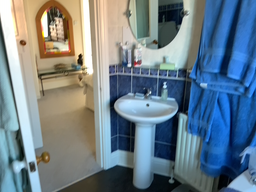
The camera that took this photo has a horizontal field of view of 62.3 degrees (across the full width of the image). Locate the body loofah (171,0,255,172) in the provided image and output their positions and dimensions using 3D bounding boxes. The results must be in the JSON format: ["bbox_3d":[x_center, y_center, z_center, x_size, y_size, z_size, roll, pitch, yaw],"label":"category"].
[{"bbox_3d":[0.600,-0.170,1.480,0.170,1.270,0.520,-12,24,-32],"label":"body loofah"}]
